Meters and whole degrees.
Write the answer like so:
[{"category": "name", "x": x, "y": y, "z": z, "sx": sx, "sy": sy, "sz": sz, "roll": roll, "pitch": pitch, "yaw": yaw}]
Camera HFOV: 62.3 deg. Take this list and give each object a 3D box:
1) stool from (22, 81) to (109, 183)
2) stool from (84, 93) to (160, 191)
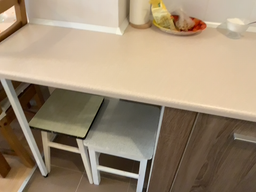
[{"category": "stool", "x": -0.330, "y": 0.220, "z": 1.300, "sx": 0.320, "sy": 0.440, "sz": 0.370, "roll": 10, "pitch": 43, "yaw": 8}, {"category": "stool", "x": -0.020, "y": 0.290, "z": 1.260, "sx": 0.320, "sy": 0.420, "sz": 0.380, "roll": 10, "pitch": 43, "yaw": 8}]
